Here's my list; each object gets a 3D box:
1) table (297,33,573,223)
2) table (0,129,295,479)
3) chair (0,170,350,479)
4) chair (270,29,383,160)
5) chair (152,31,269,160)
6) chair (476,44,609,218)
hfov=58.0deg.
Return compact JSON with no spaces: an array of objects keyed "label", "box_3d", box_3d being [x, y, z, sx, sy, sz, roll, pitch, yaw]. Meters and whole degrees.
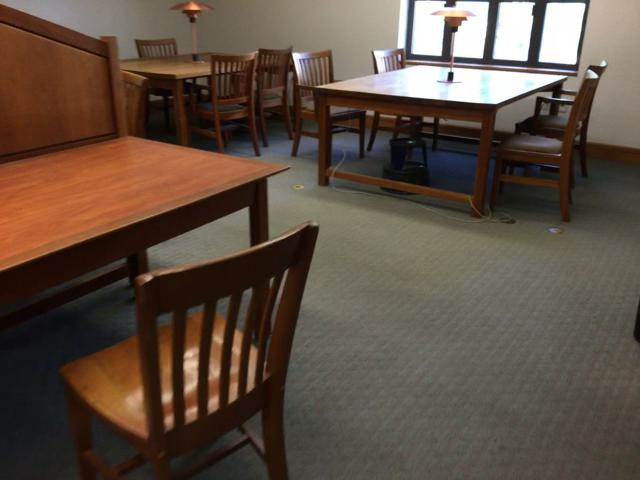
[{"label":"table","box_3d":[0.940,-0.990,4.540,1.430,1.050,1.760,16,23,30]},{"label":"table","box_3d":[-1.010,0.240,1.800,0.960,0.870,1.770,16,23,30]},{"label":"chair","box_3d":[-0.360,0.350,1.460,0.570,0.890,0.560,21,26,40]},{"label":"chair","box_3d":[0.050,-1.280,5.030,0.600,0.990,0.710,20,25,37]},{"label":"chair","box_3d":[-0.950,-1.280,5.050,0.670,0.960,0.710,16,23,30]},{"label":"chair","box_3d":[1.450,-0.740,3.790,0.590,0.990,0.570,12,21,22]}]
